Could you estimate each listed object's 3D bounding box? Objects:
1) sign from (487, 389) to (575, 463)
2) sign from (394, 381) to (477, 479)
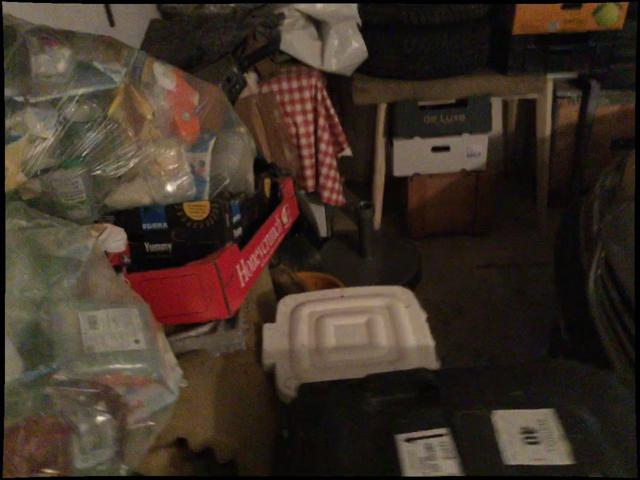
[{"bbox_3d":[0.260,0.230,0.720,0.080,0.020,0.090,-4,35,3],"label":"sign"},{"bbox_3d":[0.140,0.270,0.690,0.080,0.030,0.230,-4,35,3],"label":"sign"}]
